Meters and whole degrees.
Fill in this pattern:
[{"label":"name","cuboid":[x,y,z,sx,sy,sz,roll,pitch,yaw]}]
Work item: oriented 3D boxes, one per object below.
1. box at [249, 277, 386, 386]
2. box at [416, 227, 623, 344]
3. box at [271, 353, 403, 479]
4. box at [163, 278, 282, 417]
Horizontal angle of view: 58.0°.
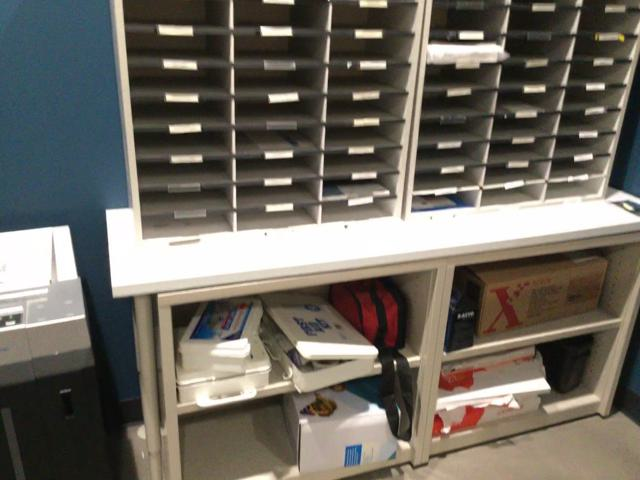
[{"label":"box","cuboid":[-0.020,0.240,1.620,0.270,0.090,0.360,-7,24,-20]},{"label":"box","cuboid":[0.640,0.130,1.890,0.560,0.200,0.290,-7,24,-20]},{"label":"box","cuboid":[0.040,0.520,1.720,0.310,0.200,0.260,-7,24,-20]},{"label":"box","cuboid":[-0.270,0.270,1.550,0.240,0.170,0.350,-7,24,-20]}]
